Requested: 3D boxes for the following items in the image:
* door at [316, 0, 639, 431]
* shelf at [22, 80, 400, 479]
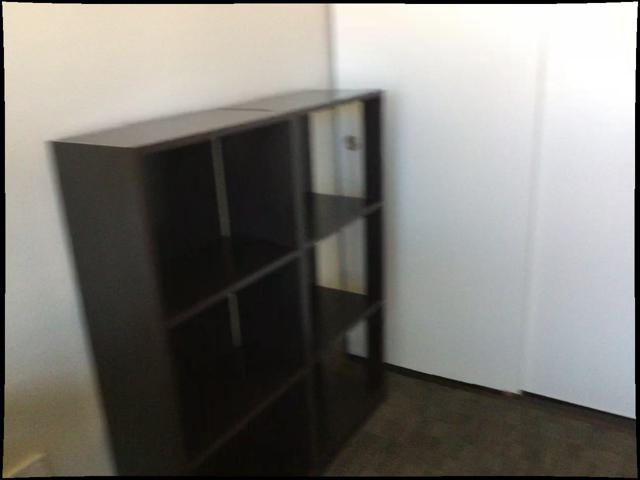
[{"bbox_3d":[0.699,-0.110,1.970,1.489,1.431,0.140,9,24,32],"label":"door"},{"bbox_3d":[-0.160,0.190,1.780,0.350,1.201,1.080,9,24,32],"label":"shelf"}]
